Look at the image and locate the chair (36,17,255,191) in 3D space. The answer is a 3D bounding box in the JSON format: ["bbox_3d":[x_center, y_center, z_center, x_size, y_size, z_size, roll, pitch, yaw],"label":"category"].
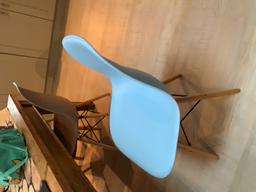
[{"bbox_3d":[0.110,0.040,0.970,0.510,0.810,0.520,32,113,46],"label":"chair"}]
